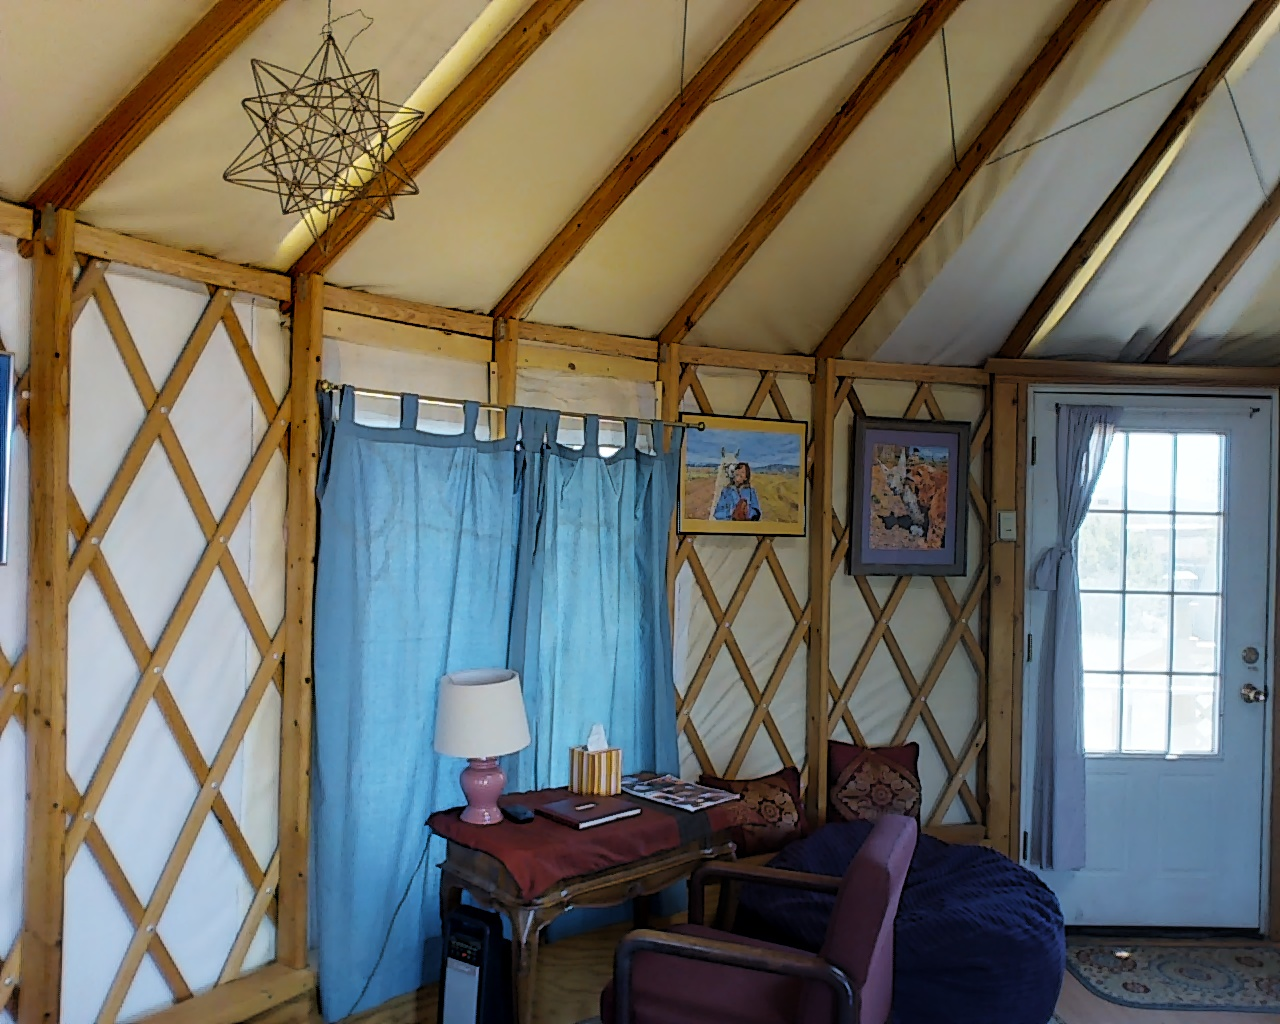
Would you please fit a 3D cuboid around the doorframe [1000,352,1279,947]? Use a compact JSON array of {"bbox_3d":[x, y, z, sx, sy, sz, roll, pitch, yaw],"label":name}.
[{"bbox_3d":[1.950,0.510,4.050,1.130,2.180,0.120,1,-1,-1],"label":"doorframe"}]
